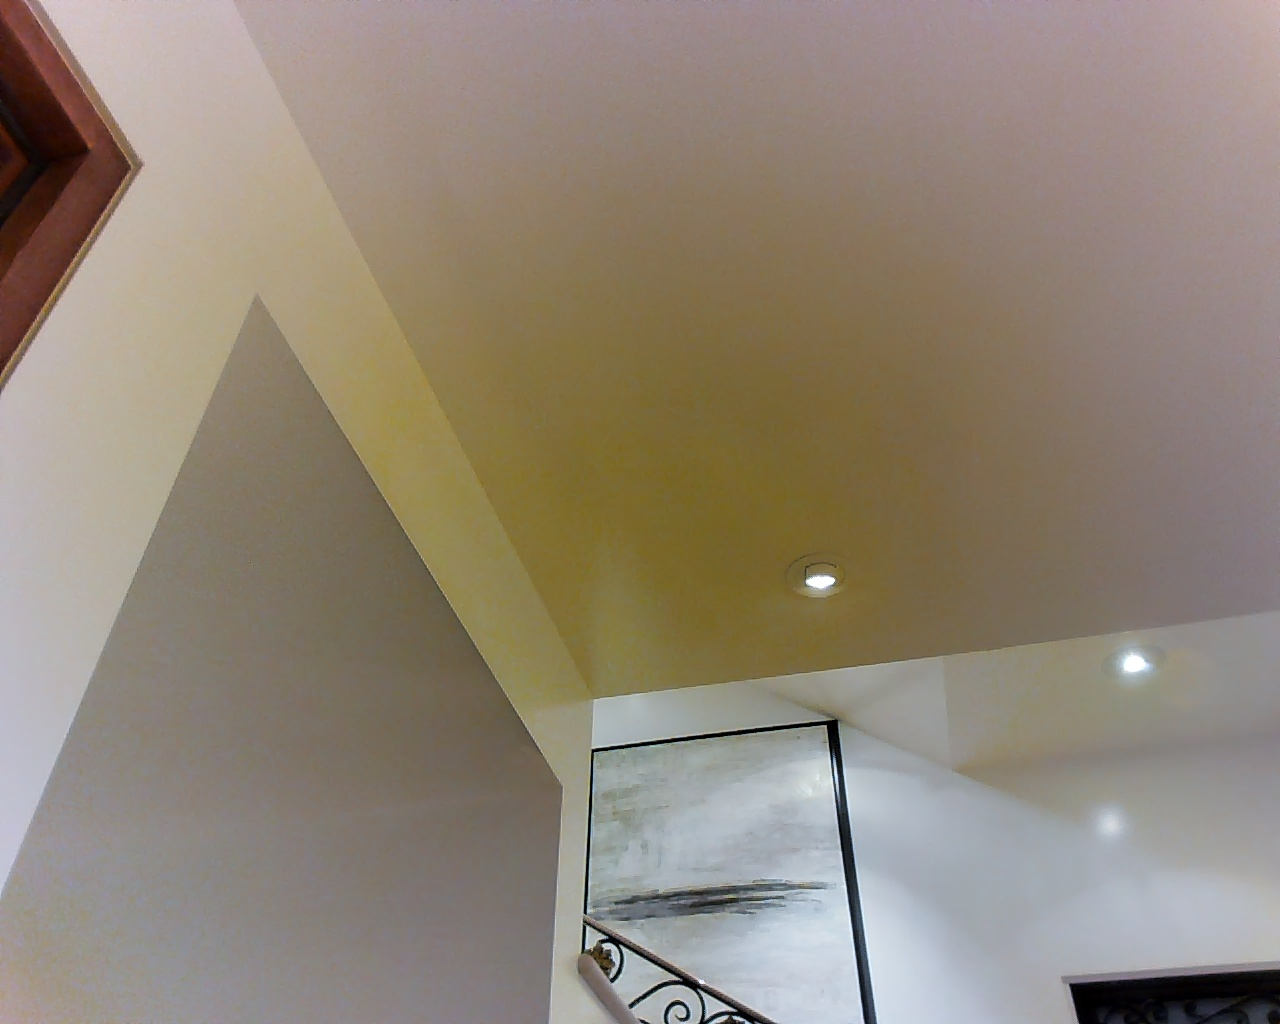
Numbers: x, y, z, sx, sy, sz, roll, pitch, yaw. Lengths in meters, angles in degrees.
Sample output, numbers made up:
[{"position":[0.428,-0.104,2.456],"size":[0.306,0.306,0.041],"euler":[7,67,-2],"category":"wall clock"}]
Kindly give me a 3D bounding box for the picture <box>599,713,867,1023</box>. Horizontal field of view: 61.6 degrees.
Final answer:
[{"position":[0.330,1.420,4.220],"size":[0.960,1.270,0.070],"euler":[-10,-44,12],"category":"picture"}]
